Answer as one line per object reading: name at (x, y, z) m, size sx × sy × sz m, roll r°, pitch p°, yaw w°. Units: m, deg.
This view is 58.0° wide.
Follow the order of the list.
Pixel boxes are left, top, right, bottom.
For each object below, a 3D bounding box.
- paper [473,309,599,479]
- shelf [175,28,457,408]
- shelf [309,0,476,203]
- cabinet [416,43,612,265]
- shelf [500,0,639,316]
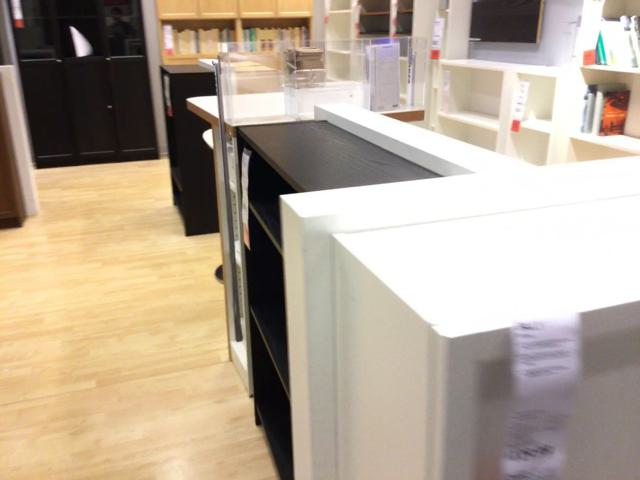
paper at (0.220, 0.210, 0.610) m, size 0.100 × 0.270 × 0.040 m, roll -8°, pitch 22°, yaw -14°
shelf at (-0.060, -0.180, 2.420) m, size 0.860 × 1.290 × 0.870 m, roll -8°, pitch 22°, yaw -15°
shelf at (0.490, -1.840, 5.270) m, size 0.420 × 2.290 × 2.780 m, roll -8°, pitch 22°, yaw -14°
cabinet at (1.100, -0.660, 3.720) m, size 0.290 × 1.100 × 1.570 m, roll -8°, pitch 22°, yaw -14°
shelf at (1.510, -0.560, 2.450) m, size 0.330 × 1.770 × 1.900 m, roll -8°, pitch 22°, yaw -14°
